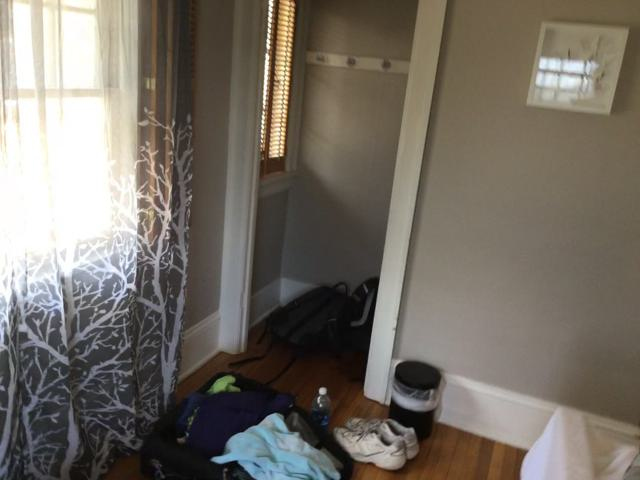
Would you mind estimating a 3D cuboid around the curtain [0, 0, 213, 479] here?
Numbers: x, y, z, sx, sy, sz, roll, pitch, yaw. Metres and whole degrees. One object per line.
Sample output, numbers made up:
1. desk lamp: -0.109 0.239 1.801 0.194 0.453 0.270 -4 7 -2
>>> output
1. curtain: -0.820 -0.080 1.680 0.250 2.060 1.420 11 17 19
